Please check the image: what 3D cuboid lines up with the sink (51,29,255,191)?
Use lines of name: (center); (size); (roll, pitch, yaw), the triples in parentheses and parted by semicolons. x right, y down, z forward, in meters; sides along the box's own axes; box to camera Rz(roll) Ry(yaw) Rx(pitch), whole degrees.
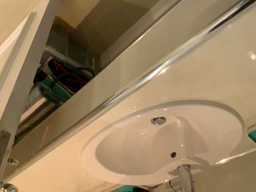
sink: (0.100, 0.140, 0.810); (0.490, 0.190, 0.590); (31, 127, -34)
